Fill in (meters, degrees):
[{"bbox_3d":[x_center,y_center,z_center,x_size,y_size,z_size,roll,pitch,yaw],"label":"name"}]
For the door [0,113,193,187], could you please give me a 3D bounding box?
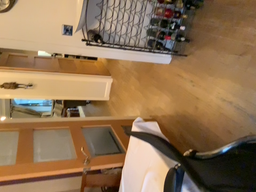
[{"bbox_3d":[-0.410,0.410,2.030,0.860,1.900,0.130,-137,53,-59],"label":"door"}]
